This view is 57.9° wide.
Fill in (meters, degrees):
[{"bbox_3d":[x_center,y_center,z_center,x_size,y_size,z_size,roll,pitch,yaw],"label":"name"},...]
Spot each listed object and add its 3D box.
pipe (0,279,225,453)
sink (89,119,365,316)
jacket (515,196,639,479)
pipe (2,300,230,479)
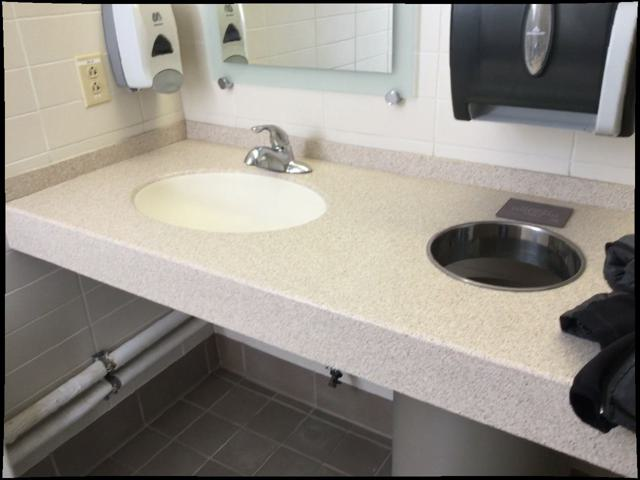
[{"bbox_3d":[-0.569,0.330,1.700,0.060,0.090,0.760,14,31,32],"label":"pipe"},{"bbox_3d":[-0.200,-0.090,1.360,0.460,0.250,0.410,14,31,32],"label":"sink"},{"bbox_3d":[0.460,0.120,0.710,0.310,0.190,0.350,14,31,32],"label":"jacket"},{"bbox_3d":[-0.559,0.410,1.740,0.060,0.100,0.760,14,31,32],"label":"pipe"}]
